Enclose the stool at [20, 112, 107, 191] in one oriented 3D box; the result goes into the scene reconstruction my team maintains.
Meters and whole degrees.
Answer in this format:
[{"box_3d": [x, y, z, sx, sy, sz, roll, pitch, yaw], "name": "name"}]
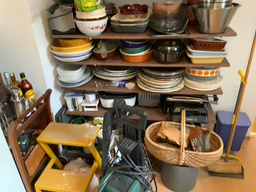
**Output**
[{"box_3d": [-0.400, 0.460, 1.520, 0.380, 0.510, 0.450, 2, 29, 7], "name": "stool"}]
